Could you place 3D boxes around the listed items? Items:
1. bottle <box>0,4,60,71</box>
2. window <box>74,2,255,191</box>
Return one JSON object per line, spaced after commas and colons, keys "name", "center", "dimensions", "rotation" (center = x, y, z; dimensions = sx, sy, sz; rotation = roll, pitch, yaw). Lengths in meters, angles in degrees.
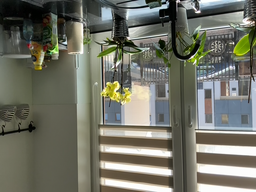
{"name": "bottle", "center": [-0.640, -0.330, 1.300], "dimensions": [0.380, 0.310, 0.210], "rotation": [-1, 180, 24]}
{"name": "window", "center": [0.350, 0.190, 1.430], "dimensions": [1.560, 1.440, 0.140], "rotation": [-1, 180, 21]}
